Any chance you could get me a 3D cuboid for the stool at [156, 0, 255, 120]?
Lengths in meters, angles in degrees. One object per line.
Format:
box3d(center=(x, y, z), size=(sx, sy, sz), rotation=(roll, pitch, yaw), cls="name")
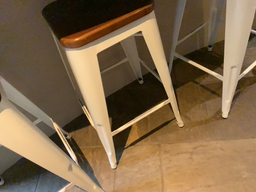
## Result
box3d(center=(0.450, -0.320, 1.010), size=(0.420, 0.660, 0.430), rotation=(-37, 52, -18), cls="stool")
